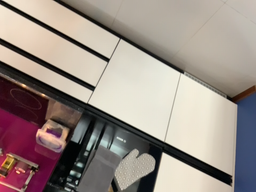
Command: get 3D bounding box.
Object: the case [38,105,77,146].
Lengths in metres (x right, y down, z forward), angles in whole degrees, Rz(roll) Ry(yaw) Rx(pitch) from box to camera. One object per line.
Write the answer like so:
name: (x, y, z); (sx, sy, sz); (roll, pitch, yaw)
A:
case: (-0.560, 0.240, 1.670); (0.210, 0.170, 0.280); (27, 146, -10)
